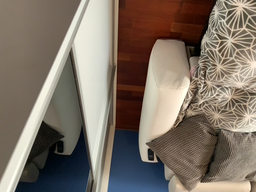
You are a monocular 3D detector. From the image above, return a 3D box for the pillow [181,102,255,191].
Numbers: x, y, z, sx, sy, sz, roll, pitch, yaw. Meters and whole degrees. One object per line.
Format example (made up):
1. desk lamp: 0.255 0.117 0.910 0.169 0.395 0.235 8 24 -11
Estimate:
1. pillow: 0.740 0.390 1.490 0.500 0.440 0.280 -31 166 -27
